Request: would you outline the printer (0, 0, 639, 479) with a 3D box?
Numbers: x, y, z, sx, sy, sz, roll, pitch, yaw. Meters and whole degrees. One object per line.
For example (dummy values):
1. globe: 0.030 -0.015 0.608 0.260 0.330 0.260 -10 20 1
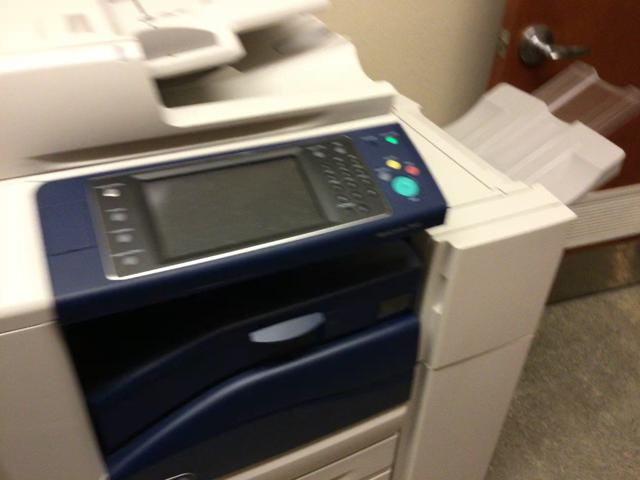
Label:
1. printer: -0.130 0.120 1.100 1.150 1.130 0.690 -11 38 -15
